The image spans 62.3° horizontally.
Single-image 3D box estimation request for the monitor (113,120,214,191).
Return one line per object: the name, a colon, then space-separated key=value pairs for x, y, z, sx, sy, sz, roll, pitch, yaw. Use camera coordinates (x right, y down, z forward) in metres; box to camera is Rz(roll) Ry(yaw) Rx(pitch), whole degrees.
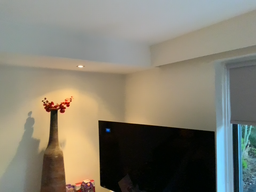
monitor: x=0.270 y=0.690 z=2.140 sx=1.160 sy=0.820 sz=0.070 roll=-2 pitch=1 yaw=45
